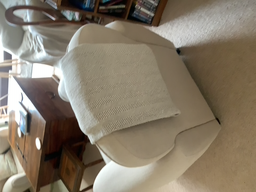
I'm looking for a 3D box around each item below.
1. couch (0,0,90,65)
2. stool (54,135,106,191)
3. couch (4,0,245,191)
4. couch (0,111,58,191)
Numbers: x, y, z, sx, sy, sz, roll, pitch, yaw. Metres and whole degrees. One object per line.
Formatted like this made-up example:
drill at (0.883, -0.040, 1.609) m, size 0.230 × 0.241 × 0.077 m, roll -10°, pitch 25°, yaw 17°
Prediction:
couch at (-1.080, -0.900, 2.080) m, size 1.040 × 0.830 × 1.040 m, roll -3°, pitch 95°, yaw 46°
stool at (-0.490, 0.690, 2.140) m, size 0.360 × 0.310 × 0.380 m, roll 38°, pitch 122°, yaw 35°
couch at (-0.070, 0.090, 1.240) m, size 0.800 × 0.840 × 0.890 m, roll -38°, pitch 70°, yaw 42°
couch at (-1.650, 0.850, 2.960) m, size 0.800 × 0.820 × 0.920 m, roll -38°, pitch 70°, yaw 42°
